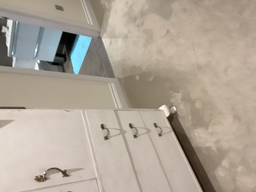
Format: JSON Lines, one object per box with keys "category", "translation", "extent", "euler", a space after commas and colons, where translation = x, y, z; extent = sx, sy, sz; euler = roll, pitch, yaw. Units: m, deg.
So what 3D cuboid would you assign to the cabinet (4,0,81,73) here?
{"category": "cabinet", "translation": [-1.350, -0.890, 3.280], "extent": [0.910, 0.900, 0.460], "euler": [-51, 47, 40]}
